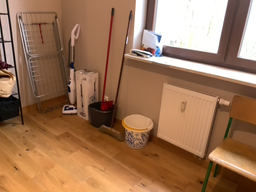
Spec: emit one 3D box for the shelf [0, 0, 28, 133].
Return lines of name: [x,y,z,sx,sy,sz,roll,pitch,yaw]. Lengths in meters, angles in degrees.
shelf: [-1.420,-0.390,2.270,0.310,1.570,0.380,20,27,33]

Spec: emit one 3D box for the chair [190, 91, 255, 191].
chair: [0.830,0.450,1.600,0.440,0.790,0.470,20,27,34]

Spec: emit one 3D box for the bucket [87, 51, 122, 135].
bucket: [-0.300,-0.040,2.580,0.310,0.930,0.260,22,28,37]
